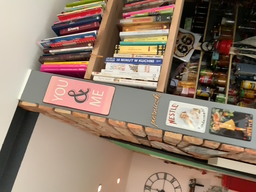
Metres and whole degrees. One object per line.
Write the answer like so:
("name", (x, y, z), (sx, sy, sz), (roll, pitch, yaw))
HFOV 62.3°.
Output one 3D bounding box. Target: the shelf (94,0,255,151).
("shelf", (1.090, -0.200, 1.990), (0.420, 2.530, 1.310), (59, -137, -71))
